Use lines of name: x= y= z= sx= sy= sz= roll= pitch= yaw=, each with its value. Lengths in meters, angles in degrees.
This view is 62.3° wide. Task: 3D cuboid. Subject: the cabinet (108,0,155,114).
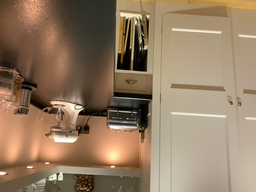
cabinet: x=0.010 y=-0.340 z=2.150 sx=0.340 sy=0.920 sz=0.760 roll=5 pitch=166 yaw=-4
